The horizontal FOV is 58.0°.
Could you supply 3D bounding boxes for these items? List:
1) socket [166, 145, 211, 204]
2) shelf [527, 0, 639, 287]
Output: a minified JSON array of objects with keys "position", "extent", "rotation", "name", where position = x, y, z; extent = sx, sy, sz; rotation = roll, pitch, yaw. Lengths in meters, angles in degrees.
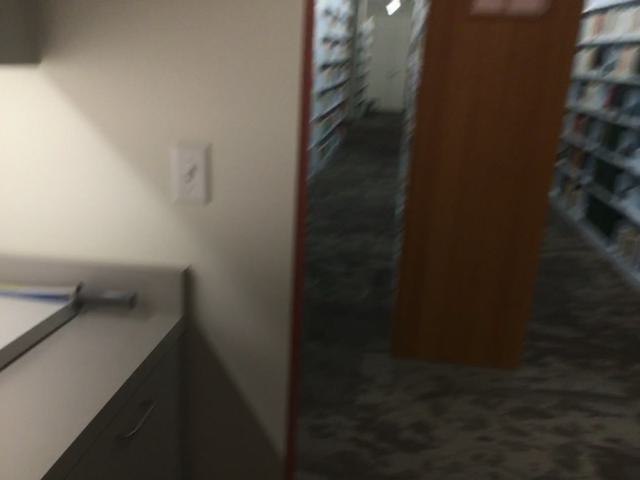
[{"position":[-0.260,-0.130,1.150],"extent":[0.080,0.110,0.020],"rotation":[3,18,7],"name":"socket"},{"position":[2.280,-1.040,4.060],"extent":[0.520,2.060,4.100],"rotation":[3,18,7],"name":"shelf"}]
